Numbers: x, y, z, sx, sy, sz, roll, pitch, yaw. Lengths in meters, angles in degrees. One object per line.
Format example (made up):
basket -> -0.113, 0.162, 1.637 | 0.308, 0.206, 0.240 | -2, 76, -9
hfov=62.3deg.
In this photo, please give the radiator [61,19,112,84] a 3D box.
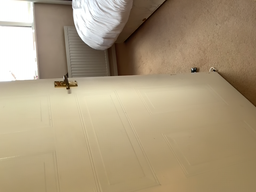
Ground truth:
radiator -> -0.590, -0.630, 3.040 | 0.090, 0.630, 0.900 | 158, 107, -67
